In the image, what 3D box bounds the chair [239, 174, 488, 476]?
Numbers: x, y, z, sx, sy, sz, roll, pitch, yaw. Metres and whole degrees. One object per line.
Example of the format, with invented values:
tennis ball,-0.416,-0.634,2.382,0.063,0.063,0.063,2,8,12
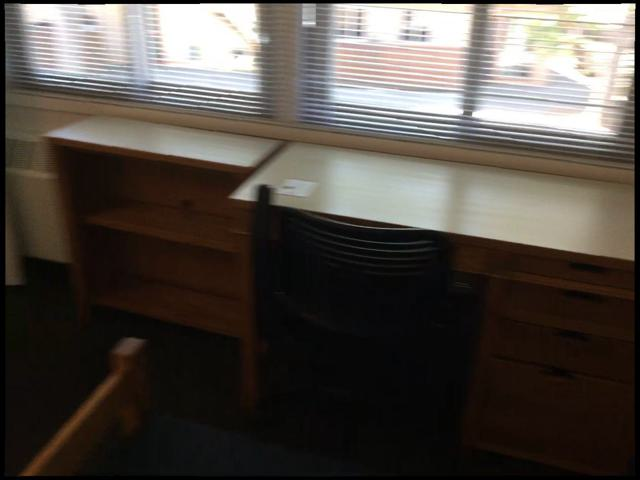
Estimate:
chair,0.110,0.240,1.630,0.589,0.741,0.250,9,29,13
